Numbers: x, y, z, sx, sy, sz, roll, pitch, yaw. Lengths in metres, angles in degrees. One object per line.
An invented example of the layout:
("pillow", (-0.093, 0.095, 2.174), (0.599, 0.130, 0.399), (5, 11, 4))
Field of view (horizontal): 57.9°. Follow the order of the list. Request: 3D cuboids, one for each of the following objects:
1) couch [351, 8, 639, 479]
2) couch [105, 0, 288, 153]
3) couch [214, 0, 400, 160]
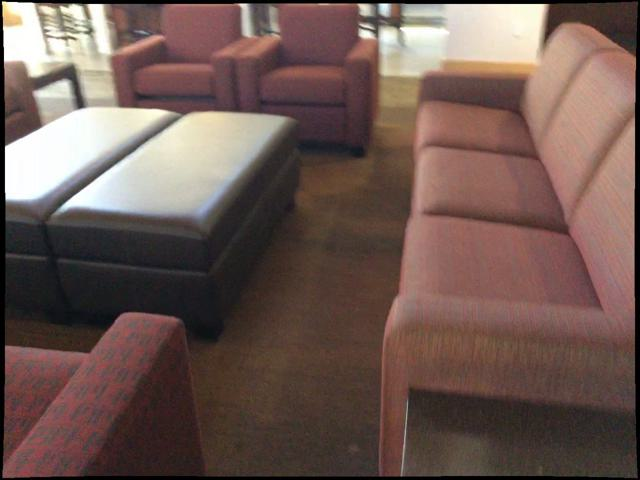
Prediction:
("couch", (0.709, -0.180, 2.040), (0.839, 0.861, 2.200), (4, 31, 11))
("couch", (-0.739, -1.121, 3.810), (0.819, 0.801, 0.830), (4, 31, 12))
("couch", (-0.020, -1.061, 3.650), (0.949, 0.801, 0.820), (4, 31, 12))
